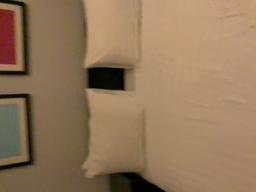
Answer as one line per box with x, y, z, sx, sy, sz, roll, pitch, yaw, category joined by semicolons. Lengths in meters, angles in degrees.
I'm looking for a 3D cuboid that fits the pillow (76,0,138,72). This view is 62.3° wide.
-0.150;-0.510;1.600;0.200;0.390;0.630;-2;95;40;pillow
